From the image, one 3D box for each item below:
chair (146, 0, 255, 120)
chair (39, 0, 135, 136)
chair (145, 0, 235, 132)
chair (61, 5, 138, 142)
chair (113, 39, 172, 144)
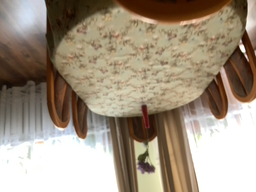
[{"bbox_3d":[0.450,-0.410,1.420,0.470,1.020,0.410,-7,161,-2],"label":"chair"},{"bbox_3d":[-0.270,-0.310,1.420,0.470,1.030,0.400,-9,161,2],"label":"chair"},{"bbox_3d":[0.470,-0.260,1.860,0.470,1.030,0.390,-9,161,1],"label":"chair"},{"bbox_3d":[-0.240,-0.180,1.810,0.490,1.030,0.400,-9,161,2],"label":"chair"},{"bbox_3d":[0.140,-0.030,2.410,0.450,1.020,0.520,-8,161,1],"label":"chair"}]
